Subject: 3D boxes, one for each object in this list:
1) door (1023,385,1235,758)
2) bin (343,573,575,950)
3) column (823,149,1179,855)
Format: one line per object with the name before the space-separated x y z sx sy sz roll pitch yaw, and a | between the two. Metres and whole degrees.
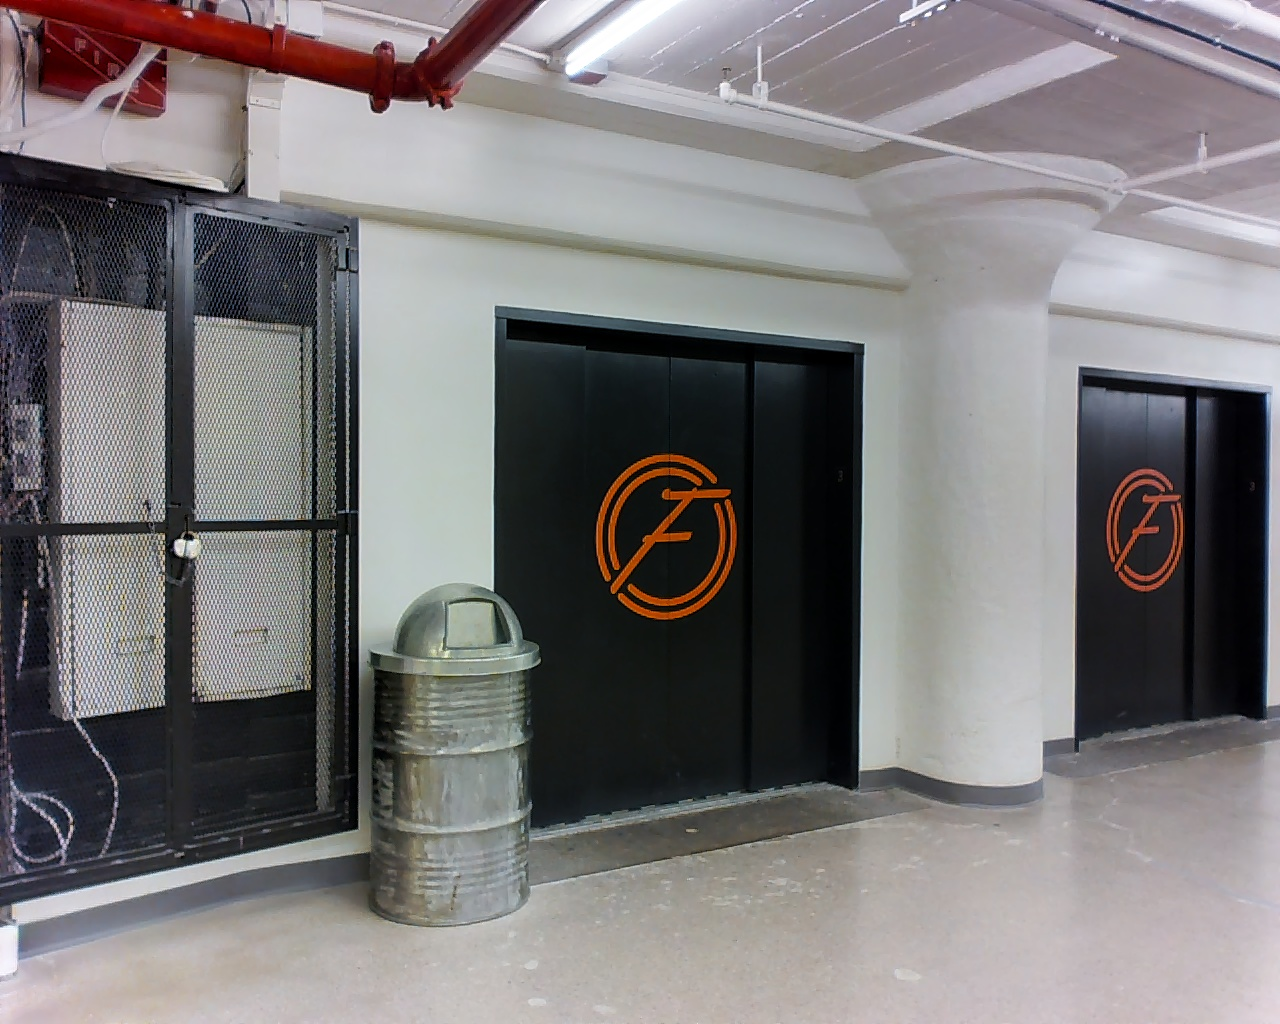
door | 3.089 0.340 6.690 1.820 2.140 0.190 0 1 -31
bin | -0.670 0.830 3.890 0.640 1.160 0.630 0 1 -31
column | 1.740 -0.040 5.160 1.490 2.911 0.840 0 1 -31
